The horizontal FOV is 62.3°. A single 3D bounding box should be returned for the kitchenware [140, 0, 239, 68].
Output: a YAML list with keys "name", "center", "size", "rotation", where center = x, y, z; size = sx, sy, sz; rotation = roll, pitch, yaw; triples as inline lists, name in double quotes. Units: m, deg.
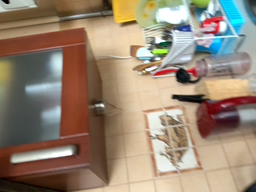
- name: "kitchenware"
  center: [0.250, -0.390, 1.030]
  size: [0.280, 0.330, 0.370]
  rotation: [82, 179, -58]
